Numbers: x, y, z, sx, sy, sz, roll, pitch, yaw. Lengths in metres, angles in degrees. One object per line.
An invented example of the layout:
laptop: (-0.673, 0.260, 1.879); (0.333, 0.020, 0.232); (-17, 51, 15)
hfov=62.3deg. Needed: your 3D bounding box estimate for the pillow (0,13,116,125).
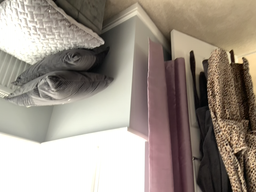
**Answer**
pillow: (-0.430, -0.110, 1.290); (0.580, 0.400, 0.370); (-15, 149, 32)
